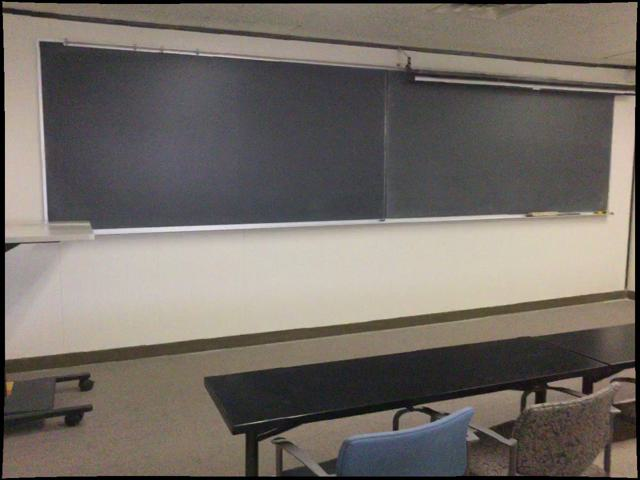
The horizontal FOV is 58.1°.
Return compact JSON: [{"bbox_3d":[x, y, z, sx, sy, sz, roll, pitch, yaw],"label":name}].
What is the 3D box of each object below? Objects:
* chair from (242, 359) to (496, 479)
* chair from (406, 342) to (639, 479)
[{"bbox_3d":[0.140,0.922,1.970,0.649,0.792,0.610,-4,6,-20],"label":"chair"},{"bbox_3d":[0.718,0.842,2.140,0.579,0.732,0.590,-3,6,-20],"label":"chair"}]
